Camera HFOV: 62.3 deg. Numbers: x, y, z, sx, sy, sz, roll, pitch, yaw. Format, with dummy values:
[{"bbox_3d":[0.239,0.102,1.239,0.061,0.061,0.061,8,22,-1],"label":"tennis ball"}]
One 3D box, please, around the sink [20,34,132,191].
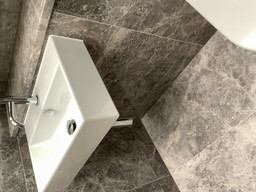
[{"bbox_3d":[-0.270,0.120,0.870,0.590,0.170,0.380,-54,52,37],"label":"sink"}]
